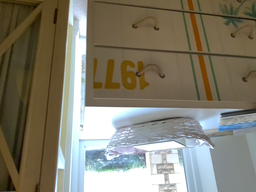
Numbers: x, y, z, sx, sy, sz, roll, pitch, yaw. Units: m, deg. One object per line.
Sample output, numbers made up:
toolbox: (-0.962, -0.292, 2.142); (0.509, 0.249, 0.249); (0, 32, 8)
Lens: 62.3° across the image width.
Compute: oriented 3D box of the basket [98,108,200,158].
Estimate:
basket: (0.130, 0.220, 1.110); (0.440, 0.140, 0.410); (-9, 158, 14)
